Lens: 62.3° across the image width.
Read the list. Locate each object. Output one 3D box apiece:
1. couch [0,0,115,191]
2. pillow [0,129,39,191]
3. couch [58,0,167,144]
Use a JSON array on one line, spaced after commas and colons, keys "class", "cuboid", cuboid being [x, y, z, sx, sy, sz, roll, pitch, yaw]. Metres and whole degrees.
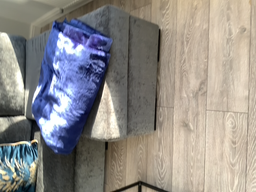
[{"class": "couch", "cuboid": [-0.760, 0.590, 1.680, 0.990, 0.800, 2.160, 1, 90, 45]}, {"class": "pillow", "cuboid": [-0.940, 0.530, 1.630, 0.220, 0.430, 0.490, 0, 89, 60]}, {"class": "couch", "cuboid": [-0.100, -0.110, 1.290, 0.480, 0.440, 0.660, 1, 90, 45]}]
